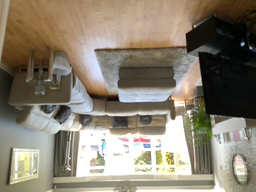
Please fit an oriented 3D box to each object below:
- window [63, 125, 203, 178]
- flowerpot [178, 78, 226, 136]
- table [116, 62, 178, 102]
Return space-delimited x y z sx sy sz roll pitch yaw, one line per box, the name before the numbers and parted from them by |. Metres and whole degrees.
window | 0.130 1.650 6.380 3.940 1.390 0.450 -1 165 -1
flowerpot | 1.670 0.290 4.950 0.750 1.220 0.740 -2 165 2
table | 0.300 -0.230 4.020 1.030 0.440 1.020 -1 165 -1
